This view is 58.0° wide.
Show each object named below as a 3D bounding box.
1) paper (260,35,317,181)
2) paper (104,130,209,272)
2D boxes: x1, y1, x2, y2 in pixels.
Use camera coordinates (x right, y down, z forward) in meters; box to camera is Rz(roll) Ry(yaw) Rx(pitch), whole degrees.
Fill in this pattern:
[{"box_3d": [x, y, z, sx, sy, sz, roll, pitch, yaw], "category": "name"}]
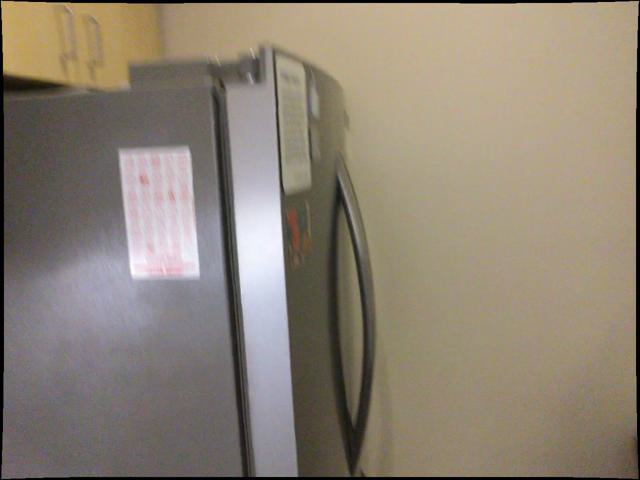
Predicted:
[{"box_3d": [-0.040, -0.180, 0.800, 0.020, 0.180, 0.130, -5, 11, 13], "category": "paper"}, {"box_3d": [-0.219, -0.050, 0.780, 0.110, 0.180, 0.020, -5, 11, 13], "category": "paper"}]
